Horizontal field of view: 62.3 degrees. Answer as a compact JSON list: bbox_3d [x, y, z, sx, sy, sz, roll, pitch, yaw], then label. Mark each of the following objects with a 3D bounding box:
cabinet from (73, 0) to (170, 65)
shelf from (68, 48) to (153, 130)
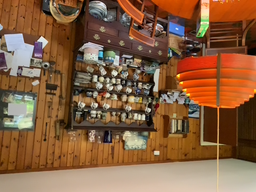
[{"bbox_3d":[-0.060,-0.990,3.250,1.380,0.720,0.500,6,174,-30],"label":"cabinet"},{"bbox_3d":[-0.200,-0.050,3.330,1.360,1.140,0.110,6,174,-30],"label":"shelf"}]
